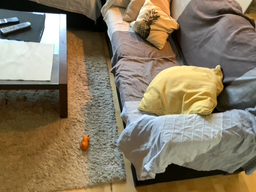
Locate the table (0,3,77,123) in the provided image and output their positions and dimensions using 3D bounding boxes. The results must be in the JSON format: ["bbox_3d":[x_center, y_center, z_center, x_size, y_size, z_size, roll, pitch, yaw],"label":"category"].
[{"bbox_3d":[-0.830,-0.270,1.580,0.850,0.390,0.860,0,52,-15],"label":"table"}]
